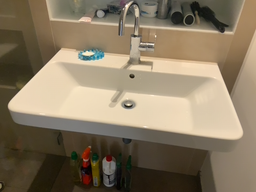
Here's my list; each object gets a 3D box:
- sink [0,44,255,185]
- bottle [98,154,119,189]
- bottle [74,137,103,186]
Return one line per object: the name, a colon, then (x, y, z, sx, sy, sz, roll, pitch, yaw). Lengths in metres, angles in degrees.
sink: (0.000, 0.020, 0.870, 0.780, 0.200, 0.490, 7, 38, 6)
bottle: (-0.120, 0.490, 1.370, 0.110, 0.190, 0.120, 5, 38, 4)
bottle: (-0.250, 0.430, 1.400, 0.120, 0.200, 0.220, 5, 38, 4)
